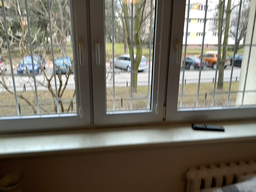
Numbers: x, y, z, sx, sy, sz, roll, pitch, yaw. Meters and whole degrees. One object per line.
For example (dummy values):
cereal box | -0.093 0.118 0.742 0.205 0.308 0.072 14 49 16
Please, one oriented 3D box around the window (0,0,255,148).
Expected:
window | 0.020 -0.320 1.340 2.510 1.190 0.160 -3 16 -12
